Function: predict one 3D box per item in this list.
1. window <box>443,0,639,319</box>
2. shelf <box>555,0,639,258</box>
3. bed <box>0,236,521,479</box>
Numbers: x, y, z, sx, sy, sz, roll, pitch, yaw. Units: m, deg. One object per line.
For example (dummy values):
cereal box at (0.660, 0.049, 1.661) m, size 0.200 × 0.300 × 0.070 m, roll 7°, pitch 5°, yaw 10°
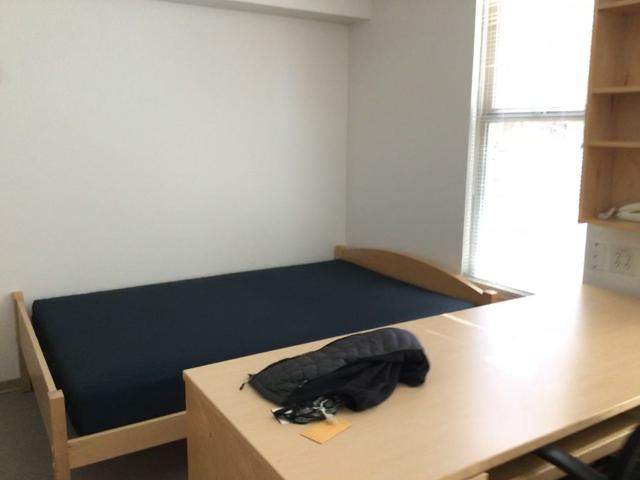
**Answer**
window at (1.030, -0.620, 2.780) m, size 0.240 × 1.790 × 0.900 m, roll -4°, pitch 11°, yaw -28°
shelf at (1.340, -0.530, 2.010) m, size 0.360 × 1.200 × 0.830 m, roll -4°, pitch 11°, yaw -28°
bed at (-0.350, 0.500, 3.000) m, size 2.270 × 0.710 × 1.420 m, roll -4°, pitch 11°, yaw -28°
